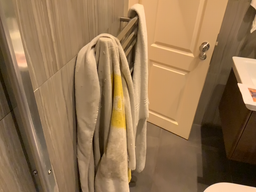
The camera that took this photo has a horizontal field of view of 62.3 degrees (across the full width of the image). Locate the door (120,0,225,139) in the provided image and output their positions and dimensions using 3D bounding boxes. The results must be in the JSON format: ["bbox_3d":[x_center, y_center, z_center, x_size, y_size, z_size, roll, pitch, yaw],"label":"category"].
[{"bbox_3d":[0.290,-0.530,1.630,0.730,1.960,0.050,20,38,23],"label":"door"}]
